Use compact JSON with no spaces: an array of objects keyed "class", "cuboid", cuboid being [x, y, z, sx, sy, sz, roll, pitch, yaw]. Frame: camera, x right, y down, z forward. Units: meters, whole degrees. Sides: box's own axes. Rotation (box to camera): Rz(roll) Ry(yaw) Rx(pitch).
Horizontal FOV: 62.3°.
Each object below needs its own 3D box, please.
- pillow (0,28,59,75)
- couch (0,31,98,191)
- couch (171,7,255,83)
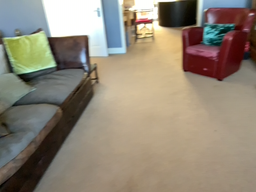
[{"class":"pillow","cuboid":[-1.120,-0.480,2.390,0.570,0.400,0.170,3,34,-32]},{"class":"couch","cuboid":[-1.070,0.050,1.860,1.050,0.760,2.110,-1,27,7]},{"class":"couch","cuboid":[1.190,-0.800,3.090,0.760,0.840,0.790,-24,33,-32]}]
